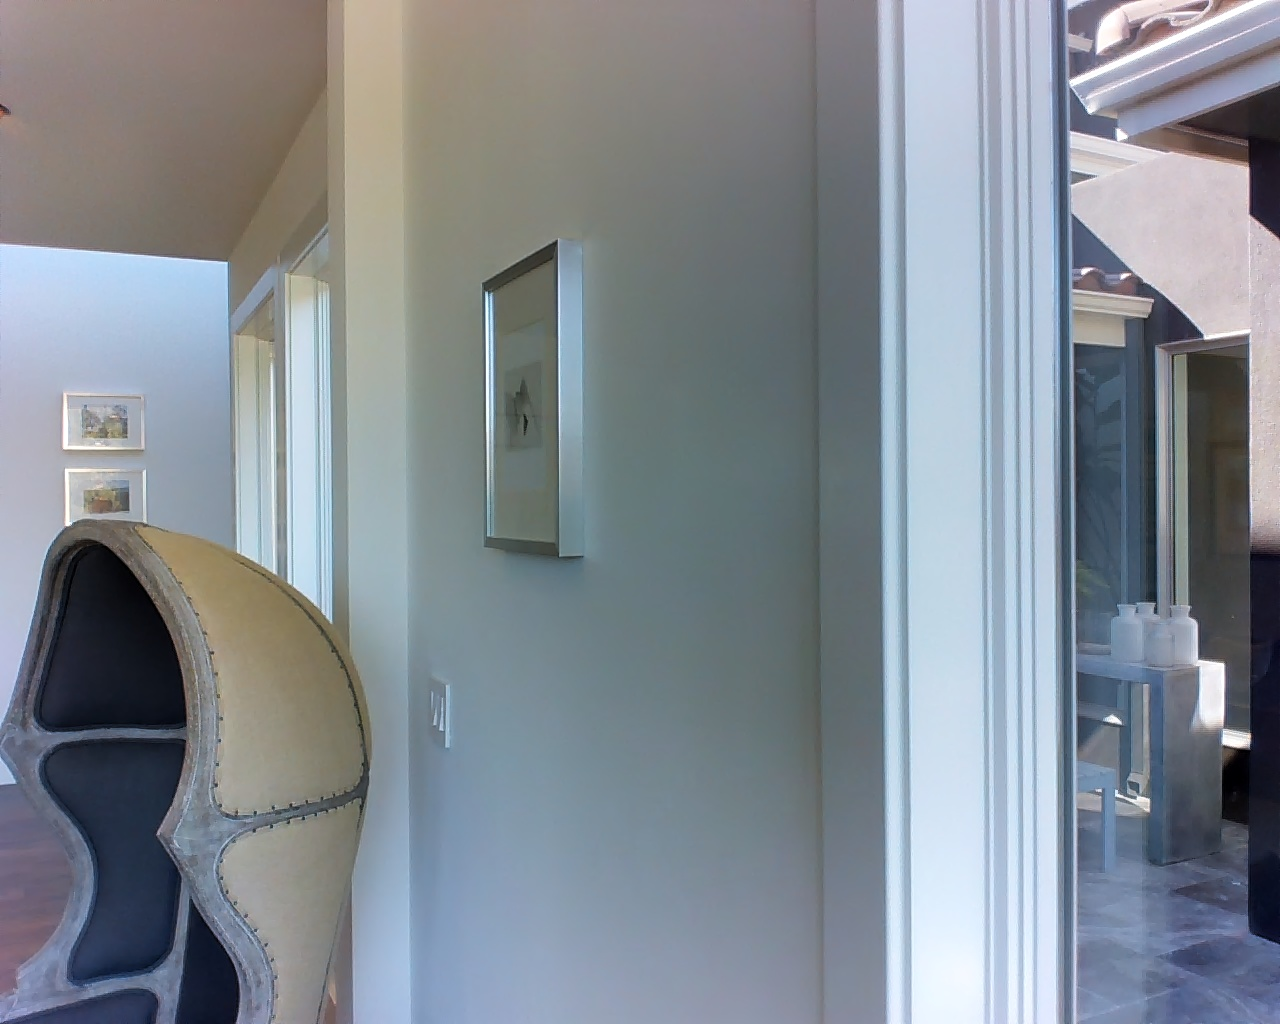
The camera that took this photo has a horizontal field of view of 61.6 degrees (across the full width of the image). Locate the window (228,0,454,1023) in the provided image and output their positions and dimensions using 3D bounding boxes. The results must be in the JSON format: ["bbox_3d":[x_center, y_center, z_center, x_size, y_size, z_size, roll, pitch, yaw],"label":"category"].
[{"bbox_3d":[-1.220,0.160,3.900,0.190,2.730,2.970,-1,0,-27],"label":"window"}]
